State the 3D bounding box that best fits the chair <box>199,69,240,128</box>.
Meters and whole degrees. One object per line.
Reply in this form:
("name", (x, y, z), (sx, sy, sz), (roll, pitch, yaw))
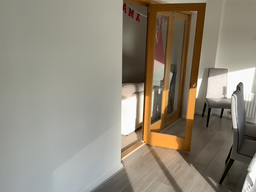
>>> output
("chair", (1.740, 0.020, 4.130), (0.460, 0.990, 0.620), (4, 15, 6))
